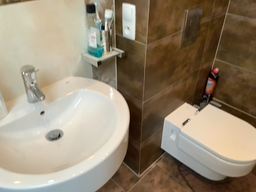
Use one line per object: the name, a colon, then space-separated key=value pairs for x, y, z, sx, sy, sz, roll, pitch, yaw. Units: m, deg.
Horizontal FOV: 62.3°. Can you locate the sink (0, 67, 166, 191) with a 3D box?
sink: x=-0.230 y=0.140 z=0.800 sx=0.480 sy=0.170 sz=0.570 roll=30 pitch=45 yaw=34

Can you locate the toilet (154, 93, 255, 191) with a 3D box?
toilet: x=0.540 y=0.350 z=1.450 sx=0.390 sy=0.430 sz=0.560 roll=-29 pitch=45 yaw=-35
